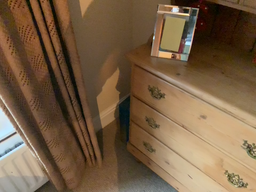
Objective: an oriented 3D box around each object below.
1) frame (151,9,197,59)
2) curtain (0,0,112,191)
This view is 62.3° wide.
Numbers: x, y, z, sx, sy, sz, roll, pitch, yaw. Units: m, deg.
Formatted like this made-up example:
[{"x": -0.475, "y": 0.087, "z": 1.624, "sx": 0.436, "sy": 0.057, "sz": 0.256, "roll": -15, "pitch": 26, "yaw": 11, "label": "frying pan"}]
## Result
[{"x": 0.190, "y": -0.260, "z": 0.890, "sx": 0.160, "sy": 0.150, "sz": 0.110, "roll": 10, "pitch": 43, "yaw": 9, "label": "frame"}, {"x": -0.360, "y": -0.380, "z": 0.640, "sx": 0.490, "sy": 2.310, "sz": 0.260, "roll": -28, "pitch": 50, "yaw": -28, "label": "curtain"}]
